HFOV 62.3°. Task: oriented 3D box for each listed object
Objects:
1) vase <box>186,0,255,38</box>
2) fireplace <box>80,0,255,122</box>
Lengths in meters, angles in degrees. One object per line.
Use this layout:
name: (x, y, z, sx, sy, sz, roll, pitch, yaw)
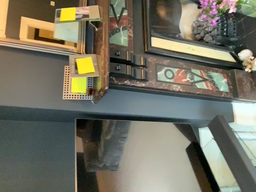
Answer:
vase: (0.740, -0.730, 1.570, 0.340, 0.470, 0.370, 137, 134, -59)
fireplace: (0.320, -0.650, 1.610, 0.520, 1.200, 1.570, 143, 129, -62)
